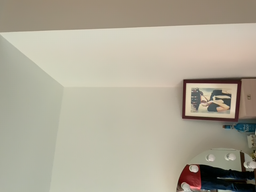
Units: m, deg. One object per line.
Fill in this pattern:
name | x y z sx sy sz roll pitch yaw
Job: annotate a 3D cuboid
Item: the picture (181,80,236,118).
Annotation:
picture | 0.650 0.020 1.740 0.090 0.400 0.290 -27 -62 -82
